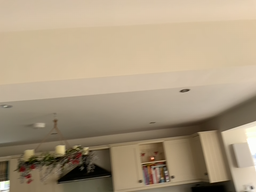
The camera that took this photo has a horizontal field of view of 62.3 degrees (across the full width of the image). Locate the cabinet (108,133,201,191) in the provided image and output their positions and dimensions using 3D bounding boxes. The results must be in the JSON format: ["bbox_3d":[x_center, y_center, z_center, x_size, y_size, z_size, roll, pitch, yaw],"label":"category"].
[{"bbox_3d":[0.450,1.210,3.930,1.560,0.800,0.360,-6,-18,-7],"label":"cabinet"}]
